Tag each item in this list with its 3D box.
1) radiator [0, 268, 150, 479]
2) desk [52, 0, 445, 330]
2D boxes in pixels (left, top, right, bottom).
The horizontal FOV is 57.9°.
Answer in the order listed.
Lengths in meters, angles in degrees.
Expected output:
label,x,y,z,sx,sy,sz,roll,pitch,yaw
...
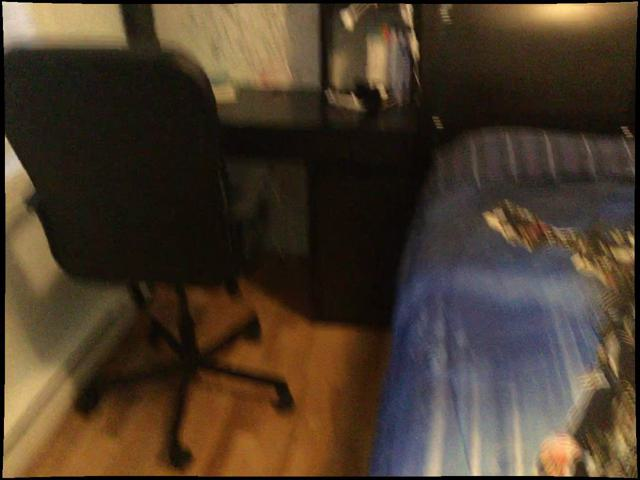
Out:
label,x,y,z,sx,sy,sz,roll,pitch,yaw
radiator,-0.809,0.501,1.650,0.090,0.170,1.290,4,30,9
desk,-0.170,-0.460,2.060,1.129,1.371,0.600,4,30,9
